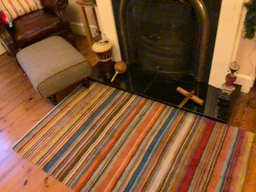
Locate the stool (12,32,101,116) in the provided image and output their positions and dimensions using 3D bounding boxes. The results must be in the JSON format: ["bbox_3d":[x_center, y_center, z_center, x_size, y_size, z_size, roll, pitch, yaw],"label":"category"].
[{"bbox_3d":[-0.690,-0.250,2.040,0.510,0.360,0.690,-31,47,-21],"label":"stool"}]

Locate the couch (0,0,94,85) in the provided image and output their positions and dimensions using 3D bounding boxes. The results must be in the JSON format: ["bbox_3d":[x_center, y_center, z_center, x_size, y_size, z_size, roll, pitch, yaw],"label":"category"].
[{"bbox_3d":[-1.170,-0.990,2.400,0.940,1.080,1.040,-31,47,-21],"label":"couch"}]
